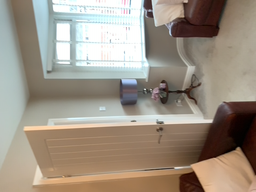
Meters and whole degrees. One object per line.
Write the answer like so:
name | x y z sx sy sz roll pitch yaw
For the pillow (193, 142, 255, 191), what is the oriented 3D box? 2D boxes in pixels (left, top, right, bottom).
pillow | 0.700 0.590 1.540 0.420 0.400 0.150 -63 -19 -50

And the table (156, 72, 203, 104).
table | 0.730 -0.120 3.090 0.340 0.530 0.330 -104 16 -54

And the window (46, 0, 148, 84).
window | -0.480 -0.920 3.360 0.170 1.520 1.420 140 129 -78
